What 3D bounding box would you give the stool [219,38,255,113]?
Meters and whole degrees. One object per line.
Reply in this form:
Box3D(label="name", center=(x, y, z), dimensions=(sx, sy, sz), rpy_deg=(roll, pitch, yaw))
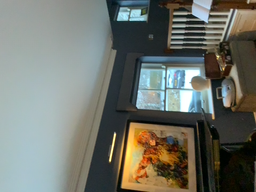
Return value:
Box3D(label="stool", center=(1.880, -0.360, 3.470), dimensions=(0.470, 0.510, 1.180), rpy_deg=(82, -166, -55))
